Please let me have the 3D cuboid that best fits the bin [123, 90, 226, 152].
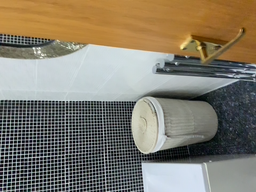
[{"bbox_3d":[0.350,0.220,1.750,0.480,0.610,0.400,145,123,-62],"label":"bin"}]
